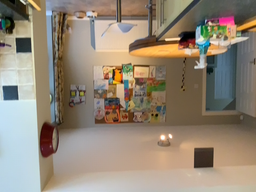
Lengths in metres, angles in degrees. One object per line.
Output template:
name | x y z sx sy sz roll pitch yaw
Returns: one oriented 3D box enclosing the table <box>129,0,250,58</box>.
table | 0.580 -1.000 2.530 1.130 0.960 1.090 0 -175 -1
